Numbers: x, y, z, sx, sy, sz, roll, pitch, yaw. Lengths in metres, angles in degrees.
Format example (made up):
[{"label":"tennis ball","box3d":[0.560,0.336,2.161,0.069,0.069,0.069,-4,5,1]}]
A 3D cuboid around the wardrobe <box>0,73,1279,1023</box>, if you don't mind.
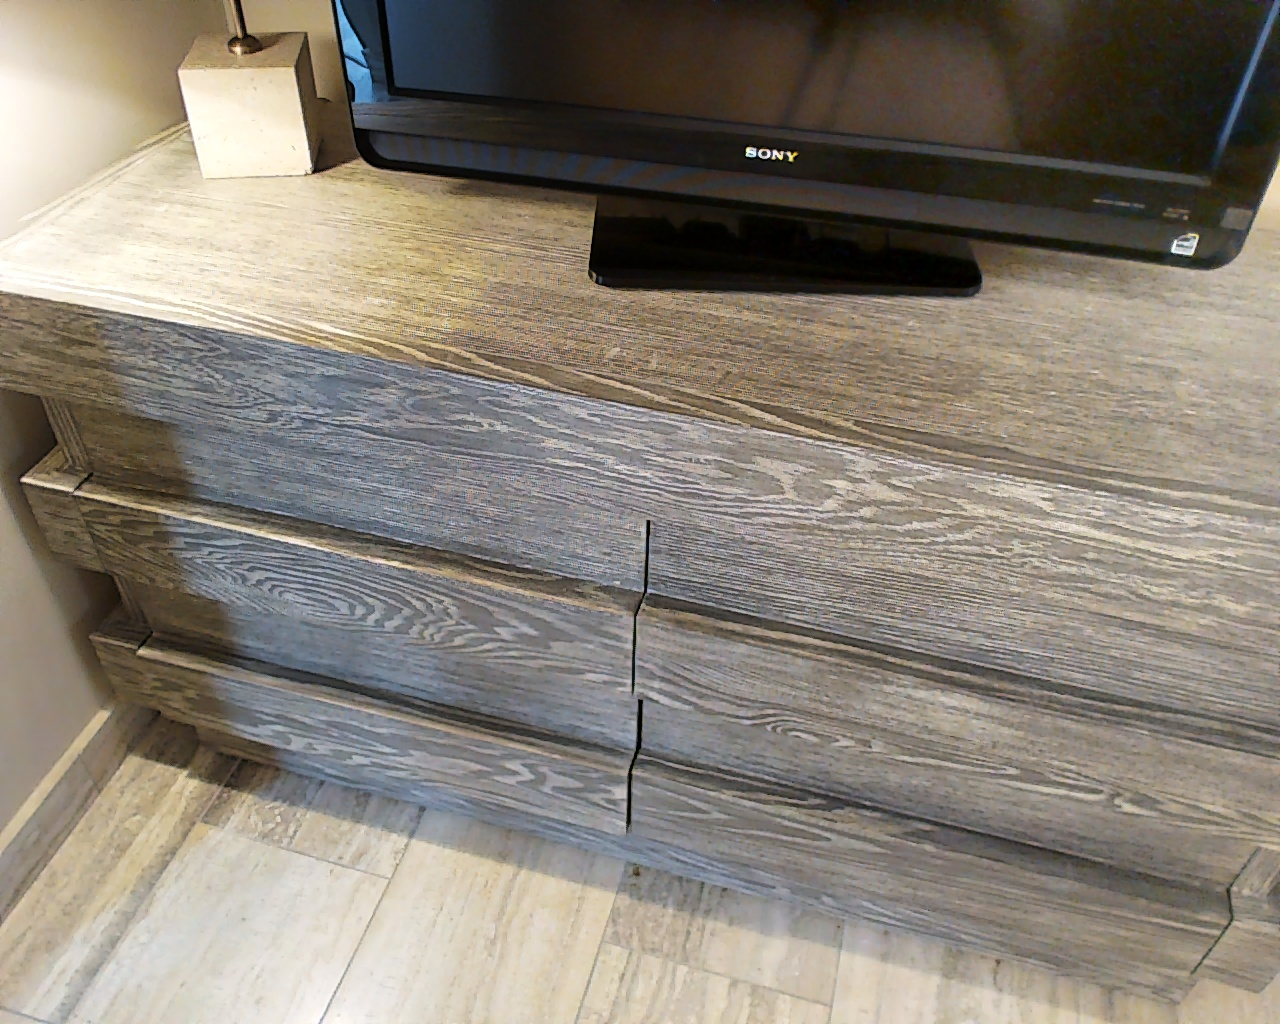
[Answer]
[{"label":"wardrobe","box3d":[0.070,0.020,1.470,1.560,0.820,0.680,12,42,12]}]
